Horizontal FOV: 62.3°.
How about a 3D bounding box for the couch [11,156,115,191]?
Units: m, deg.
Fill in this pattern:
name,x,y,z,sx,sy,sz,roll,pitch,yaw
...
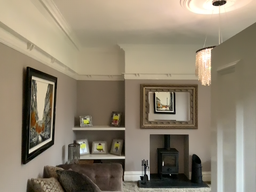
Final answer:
name,x,y,z,sx,sy,sz,roll,pitch,yaw
couch,-0.700,1.340,2.670,1.060,0.710,1.630,0,0,-4
